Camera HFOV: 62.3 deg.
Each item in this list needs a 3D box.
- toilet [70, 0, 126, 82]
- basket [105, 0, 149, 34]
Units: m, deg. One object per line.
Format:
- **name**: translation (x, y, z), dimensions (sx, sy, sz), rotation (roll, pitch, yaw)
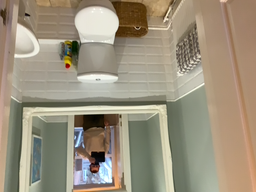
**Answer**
- **toilet**: translation (-0.290, -0.610, 1.890), dimensions (0.390, 0.790, 0.680), rotation (-1, 166, -11)
- **basket**: translation (-0.020, -0.810, 2.200), dimensions (0.420, 0.250, 0.190), rotation (-1, 167, -11)
